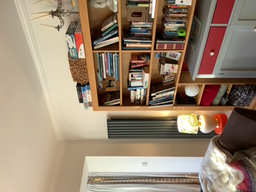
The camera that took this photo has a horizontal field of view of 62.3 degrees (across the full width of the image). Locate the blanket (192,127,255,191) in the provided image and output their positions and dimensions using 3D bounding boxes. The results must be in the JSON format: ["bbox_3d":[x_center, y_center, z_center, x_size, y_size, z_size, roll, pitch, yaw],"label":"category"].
[{"bbox_3d":[1.000,0.770,2.130,0.590,0.420,0.730,-92,2,-46],"label":"blanket"}]

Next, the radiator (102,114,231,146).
[{"bbox_3d":[0.550,0.540,3.290,0.140,1.840,0.620,-92,2,-46],"label":"radiator"}]
